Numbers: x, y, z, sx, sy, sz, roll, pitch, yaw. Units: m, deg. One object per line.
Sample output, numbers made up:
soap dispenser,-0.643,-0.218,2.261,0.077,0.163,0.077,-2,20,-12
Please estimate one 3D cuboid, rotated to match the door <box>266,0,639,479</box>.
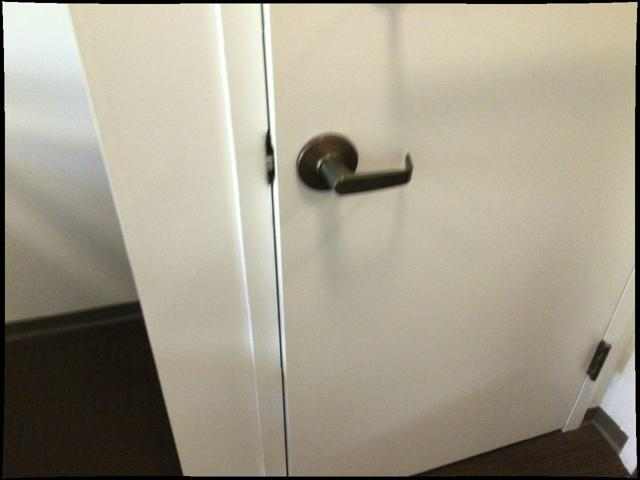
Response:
door,0.349,-0.040,1.010,0.878,1.673,0.130,-9,38,-17
